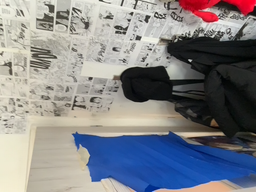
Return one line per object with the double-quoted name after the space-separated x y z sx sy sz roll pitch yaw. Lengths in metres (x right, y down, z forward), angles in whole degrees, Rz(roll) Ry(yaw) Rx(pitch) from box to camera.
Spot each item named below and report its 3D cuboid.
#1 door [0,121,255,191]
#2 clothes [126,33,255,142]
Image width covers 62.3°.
0.590 0.210 0.780 0.880 2.040 0.110 180 93 -68 "door"
0.660 0.050 1.020 0.520 1.220 0.200 133 136 -57 "clothes"
